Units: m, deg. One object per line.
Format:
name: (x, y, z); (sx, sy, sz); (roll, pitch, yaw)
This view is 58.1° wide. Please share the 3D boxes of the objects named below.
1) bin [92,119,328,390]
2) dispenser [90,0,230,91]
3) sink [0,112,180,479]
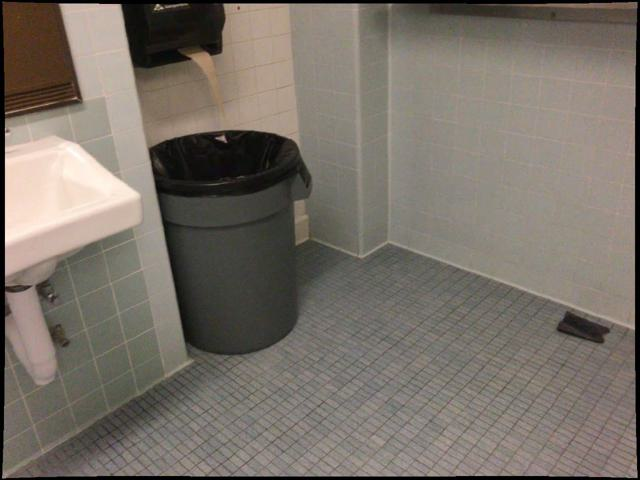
bin: (-0.379, 0.010, 2.150); (0.599, 0.701, 0.550); (23, 36, 36)
dispenser: (-0.519, -0.732, 1.870); (0.260, 0.391, 0.330); (23, 36, 36)
sink: (-0.718, 0.140, 1.320); (0.449, 0.681, 0.540); (23, 36, 36)
